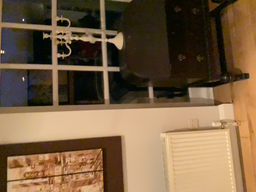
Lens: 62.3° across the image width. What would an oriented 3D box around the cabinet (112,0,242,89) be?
[{"bbox_3d":[0.410,-0.540,1.950,0.440,1.000,0.870,152,116,-70],"label":"cabinet"}]
